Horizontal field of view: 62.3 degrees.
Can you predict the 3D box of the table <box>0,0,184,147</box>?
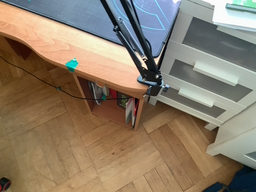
[{"bbox_3d":[-0.410,-0.390,1.020,1.200,0.840,0.690,22,67,7],"label":"table"}]
